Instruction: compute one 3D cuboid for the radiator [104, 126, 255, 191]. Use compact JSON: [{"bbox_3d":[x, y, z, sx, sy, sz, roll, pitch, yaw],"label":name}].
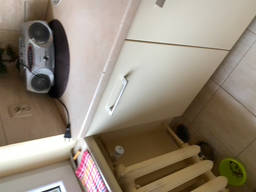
[{"bbox_3d":[0.300,0.470,1.130,0.510,0.670,0.190,53,131,32],"label":"radiator"}]
